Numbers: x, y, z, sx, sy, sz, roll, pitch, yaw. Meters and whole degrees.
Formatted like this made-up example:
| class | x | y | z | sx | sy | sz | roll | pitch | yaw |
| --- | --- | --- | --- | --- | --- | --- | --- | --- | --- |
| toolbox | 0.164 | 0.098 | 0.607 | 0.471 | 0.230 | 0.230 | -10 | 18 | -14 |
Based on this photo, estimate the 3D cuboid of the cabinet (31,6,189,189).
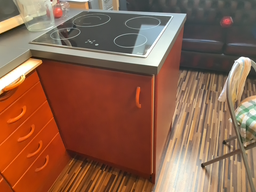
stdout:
| class | x | y | z | sx | sy | sz | roll | pitch | yaw |
| --- | --- | --- | --- | --- | --- | --- | --- | --- | --- |
| cabinet | -0.020 | -0.010 | 1.390 | 0.620 | 0.900 | 0.640 | 11 | 41 | 18 |
